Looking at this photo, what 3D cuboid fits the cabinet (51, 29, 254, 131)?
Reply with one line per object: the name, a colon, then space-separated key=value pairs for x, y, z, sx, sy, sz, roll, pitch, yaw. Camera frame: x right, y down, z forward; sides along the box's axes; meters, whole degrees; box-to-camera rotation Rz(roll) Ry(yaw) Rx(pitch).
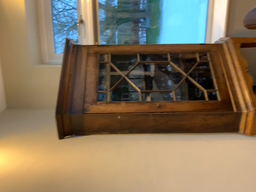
cabinet: x=0.120 y=-0.130 z=1.380 sx=0.530 sy=1.020 sz=0.530 roll=-94 pitch=5 yaw=-76
